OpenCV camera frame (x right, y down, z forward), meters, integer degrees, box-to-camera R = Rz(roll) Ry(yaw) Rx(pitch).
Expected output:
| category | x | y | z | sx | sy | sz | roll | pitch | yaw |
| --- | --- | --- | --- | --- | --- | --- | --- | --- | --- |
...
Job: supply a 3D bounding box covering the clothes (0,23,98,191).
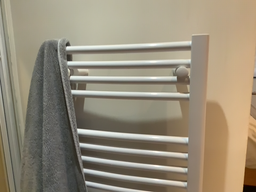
| category | x | y | z | sx | sy | sz | roll | pitch | yaw |
| --- | --- | --- | --- | --- | --- | --- | --- | --- | --- |
| clothes | -0.260 | 0.350 | 0.660 | 0.250 | 1.060 | 0.250 | 2 | 12 | 15 |
